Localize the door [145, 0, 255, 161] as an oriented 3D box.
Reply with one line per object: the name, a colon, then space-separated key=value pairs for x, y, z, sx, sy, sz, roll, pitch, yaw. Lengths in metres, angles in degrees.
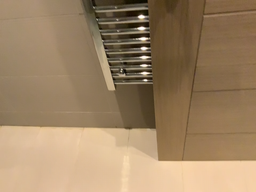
door: x=0.450 y=-0.300 z=0.370 sx=0.850 sy=1.980 sz=0.030 roll=-1 pitch=50 yaw=8
